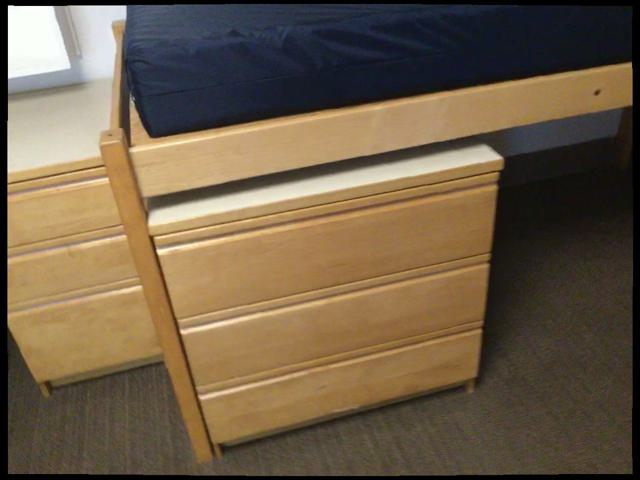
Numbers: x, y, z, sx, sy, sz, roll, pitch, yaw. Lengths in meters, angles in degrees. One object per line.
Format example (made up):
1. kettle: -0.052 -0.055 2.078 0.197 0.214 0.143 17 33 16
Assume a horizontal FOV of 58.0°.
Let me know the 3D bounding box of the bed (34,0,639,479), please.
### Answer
1. bed: 0.499 -0.341 1.890 2.236 1.111 1.100 -13 34 -11

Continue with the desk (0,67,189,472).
1. desk: -1.178 0.110 1.720 1.318 0.801 0.900 -13 34 -11
